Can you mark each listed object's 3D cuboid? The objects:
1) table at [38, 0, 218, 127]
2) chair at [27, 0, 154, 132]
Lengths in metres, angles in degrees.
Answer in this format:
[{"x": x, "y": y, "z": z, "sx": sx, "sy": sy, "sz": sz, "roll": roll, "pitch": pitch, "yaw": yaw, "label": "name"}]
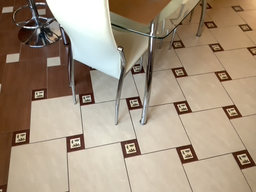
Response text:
[{"x": 0.110, "y": -0.530, "z": 1.570, "sx": 0.750, "sy": 0.690, "sz": 1.100, "roll": 27, "pitch": 56, "yaw": 17, "label": "table"}, {"x": -0.150, "y": -0.290, "z": 1.210, "sx": 0.370, "sy": 0.960, "sz": 0.480, "roll": 25, "pitch": 56, "yaw": 15, "label": "chair"}]
